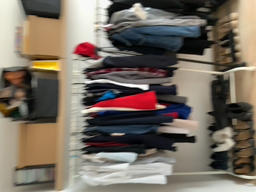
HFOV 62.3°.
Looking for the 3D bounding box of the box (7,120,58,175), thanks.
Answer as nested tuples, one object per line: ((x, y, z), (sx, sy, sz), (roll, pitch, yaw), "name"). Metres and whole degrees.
((-0.830, 0.430, 1.900), (0.360, 0.350, 0.420), (155, 115, -74), "box")

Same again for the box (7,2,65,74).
((-0.800, -0.490, 1.910), (0.310, 0.430, 0.520), (164, 106, -75), "box")
